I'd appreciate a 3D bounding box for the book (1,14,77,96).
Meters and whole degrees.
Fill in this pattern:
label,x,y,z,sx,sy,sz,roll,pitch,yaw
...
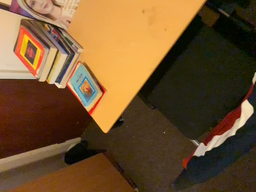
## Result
label,x,y,z,sx,sy,sz,roll,pitch,yaw
book,-0.350,-0.150,0.820,0.190,0.140,0.220,50,119,21
